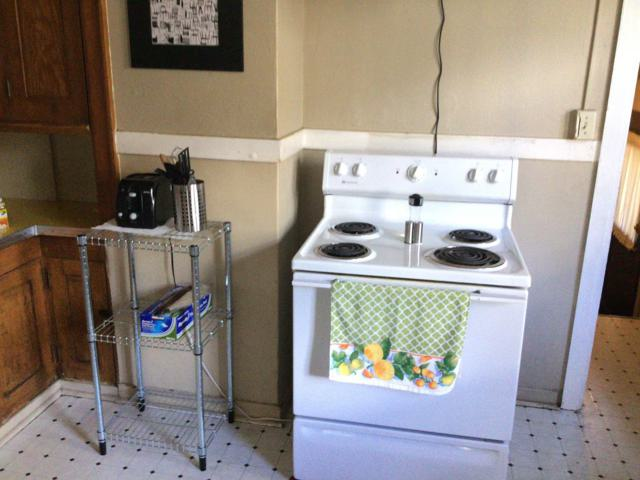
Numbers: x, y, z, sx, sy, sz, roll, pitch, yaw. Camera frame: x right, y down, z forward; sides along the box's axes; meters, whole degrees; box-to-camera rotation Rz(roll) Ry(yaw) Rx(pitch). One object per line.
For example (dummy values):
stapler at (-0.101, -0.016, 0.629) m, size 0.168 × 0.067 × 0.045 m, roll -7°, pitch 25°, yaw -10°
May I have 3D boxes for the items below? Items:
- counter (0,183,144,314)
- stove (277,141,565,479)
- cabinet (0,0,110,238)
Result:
counter at (-1.380, 0.040, 2.190) m, size 0.770 × 0.220 × 1.450 m, roll 4°, pitch 16°, yaw 10°
stove at (0.340, 0.280, 2.230) m, size 0.830 × 1.190 × 0.800 m, roll 4°, pitch 16°, yaw 10°
cabinet at (-1.070, -0.940, 2.210) m, size 0.490 × 1.850 × 0.080 m, roll 6°, pitch 14°, yaw 10°
